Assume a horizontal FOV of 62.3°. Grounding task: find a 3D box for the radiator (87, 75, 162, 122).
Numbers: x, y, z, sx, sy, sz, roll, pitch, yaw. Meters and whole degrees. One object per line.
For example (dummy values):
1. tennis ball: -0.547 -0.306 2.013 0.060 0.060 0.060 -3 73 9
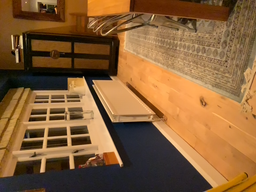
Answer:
1. radiator: -0.180 -0.060 3.210 1.800 0.630 0.090 -134 46 -63
